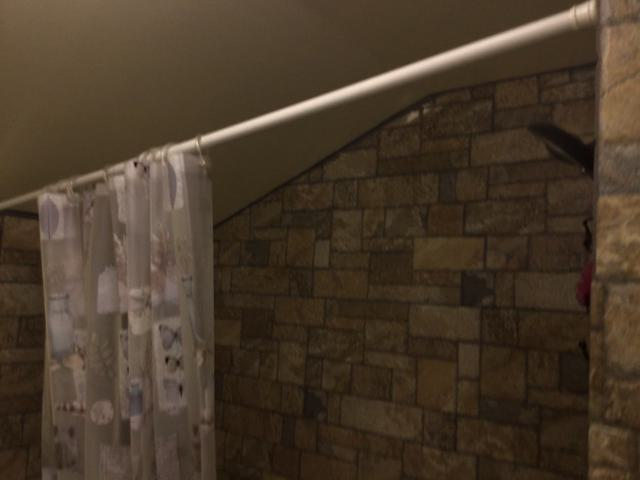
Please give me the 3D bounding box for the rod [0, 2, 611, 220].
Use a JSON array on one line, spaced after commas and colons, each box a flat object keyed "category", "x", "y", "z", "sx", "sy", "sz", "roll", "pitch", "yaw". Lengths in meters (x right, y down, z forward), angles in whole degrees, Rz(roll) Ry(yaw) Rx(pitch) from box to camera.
[{"category": "rod", "x": -0.290, "y": -0.170, "z": 1.180, "sx": 1.590, "sy": 0.140, "sz": 0.070, "roll": -3, "pitch": -8, "yaw": 37}]
